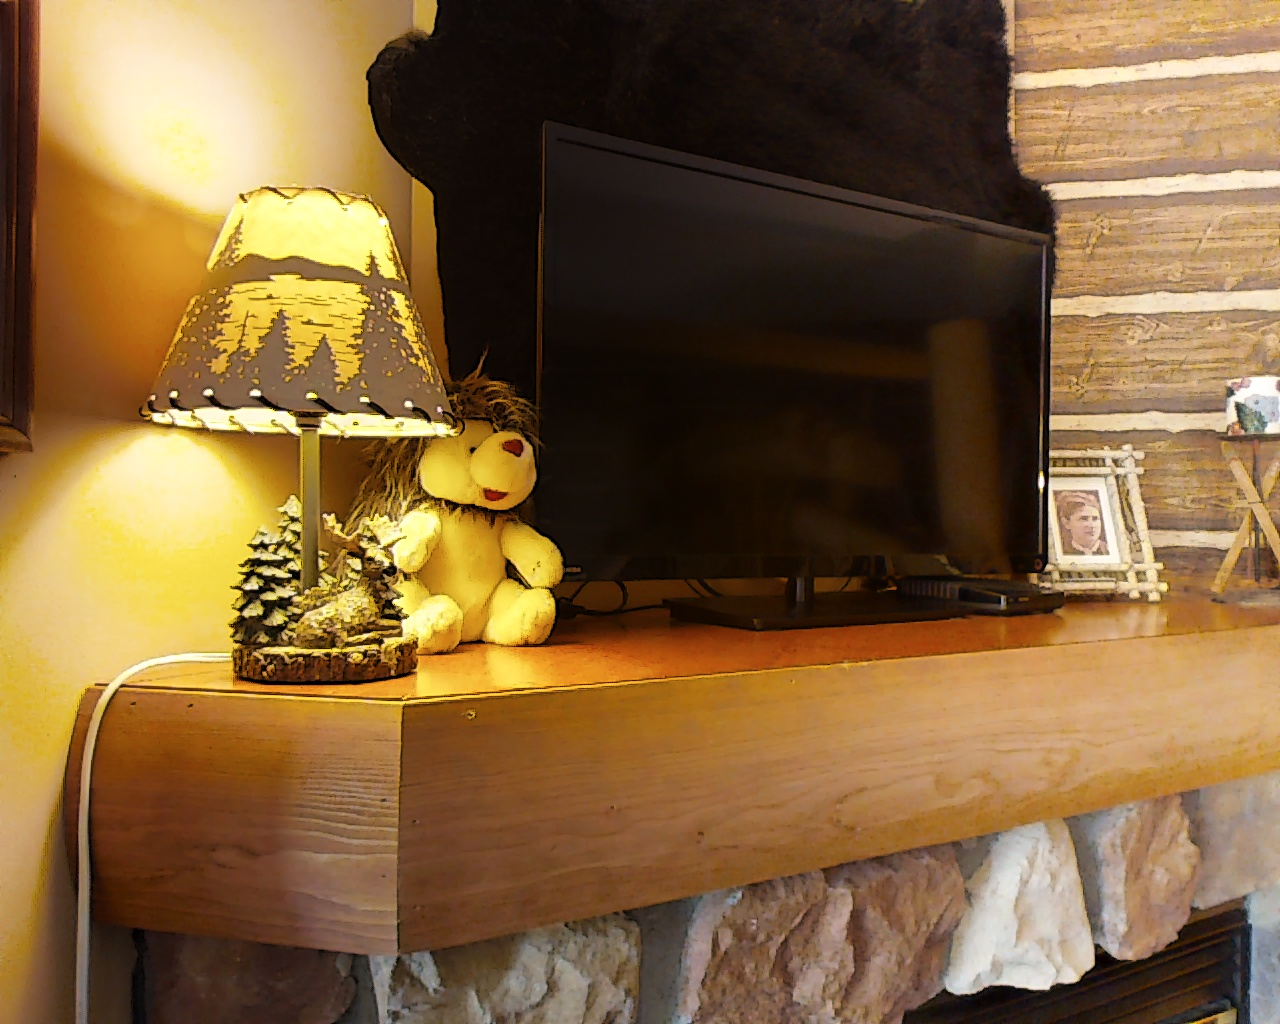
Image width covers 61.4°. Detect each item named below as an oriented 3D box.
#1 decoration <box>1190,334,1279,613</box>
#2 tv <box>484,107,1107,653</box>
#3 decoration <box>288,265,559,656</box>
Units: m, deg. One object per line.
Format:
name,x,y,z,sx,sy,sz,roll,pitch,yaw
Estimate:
decoration,0.860,-0.050,1.510,0.120,0.370,0.170,0,-1,14
tv,0.230,-0.120,1.260,0.840,0.510,0.100,1,-1,-30
decoration,-0.190,-0.040,1.000,0.180,0.320,0.210,0,-1,11
